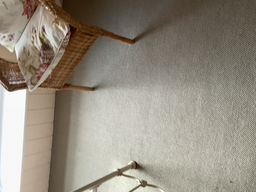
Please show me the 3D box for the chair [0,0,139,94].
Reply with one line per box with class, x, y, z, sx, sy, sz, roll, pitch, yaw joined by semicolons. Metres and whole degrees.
chair;-0.490;-0.420;1.280;0.590;0.780;0.560;-47;66;28
